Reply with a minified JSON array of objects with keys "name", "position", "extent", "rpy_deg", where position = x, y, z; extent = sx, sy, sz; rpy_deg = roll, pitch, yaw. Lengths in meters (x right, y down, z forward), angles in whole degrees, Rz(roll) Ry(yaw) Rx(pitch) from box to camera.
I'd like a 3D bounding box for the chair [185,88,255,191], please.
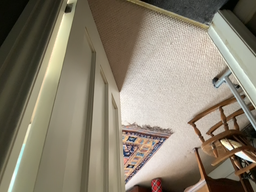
[{"name":"chair","position":[0.840,0.390,1.670],"extent":[0.380,0.680,0.470],"rpy_deg":[31,125,-31]}]
